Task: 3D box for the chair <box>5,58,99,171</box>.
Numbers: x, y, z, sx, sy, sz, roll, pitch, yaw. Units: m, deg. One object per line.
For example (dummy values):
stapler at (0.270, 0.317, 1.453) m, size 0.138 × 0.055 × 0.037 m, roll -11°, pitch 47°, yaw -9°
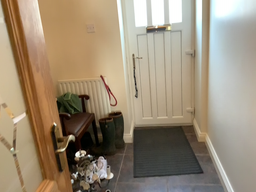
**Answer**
chair at (-0.720, 0.170, 2.260) m, size 0.570 × 1.020 × 0.600 m, roll -2°, pitch 18°, yaw 8°
